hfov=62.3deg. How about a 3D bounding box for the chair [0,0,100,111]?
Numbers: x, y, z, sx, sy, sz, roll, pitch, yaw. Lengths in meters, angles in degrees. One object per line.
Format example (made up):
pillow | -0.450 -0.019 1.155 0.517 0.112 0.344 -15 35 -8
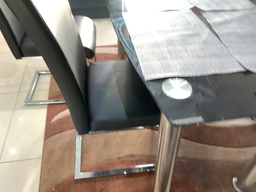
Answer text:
chair | -0.520 -0.440 1.340 0.590 0.970 0.480 -5 44 -7

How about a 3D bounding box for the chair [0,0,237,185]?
chair | -0.050 -0.070 0.960 0.590 0.980 0.450 -5 44 -7
